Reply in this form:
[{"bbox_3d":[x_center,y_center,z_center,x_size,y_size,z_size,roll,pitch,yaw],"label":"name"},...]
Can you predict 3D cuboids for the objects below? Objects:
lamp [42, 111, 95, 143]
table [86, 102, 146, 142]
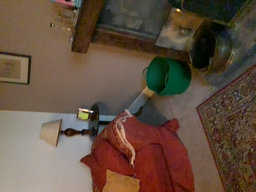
[{"bbox_3d":[-0.790,0.420,2.800,0.310,0.610,0.300,128,140,-50],"label":"lamp"},{"bbox_3d":[-0.190,0.390,3.070,0.420,0.710,0.410,128,140,-50],"label":"table"}]
